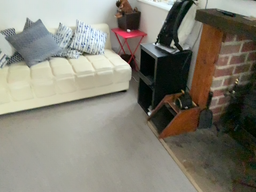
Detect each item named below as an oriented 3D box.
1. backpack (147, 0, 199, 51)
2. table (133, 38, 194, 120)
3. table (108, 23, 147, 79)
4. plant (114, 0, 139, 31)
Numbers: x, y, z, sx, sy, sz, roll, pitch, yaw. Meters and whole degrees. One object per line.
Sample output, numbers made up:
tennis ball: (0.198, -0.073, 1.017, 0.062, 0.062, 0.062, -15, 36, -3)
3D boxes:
backpack: (0.420, -0.730, 2.090, 0.280, 0.430, 0.390, -11, 34, -20)
table: (0.360, -0.200, 2.400, 0.460, 0.760, 0.420, -11, 34, -20)
table: (-0.030, -0.720, 3.310, 0.380, 0.660, 0.590, -11, 34, -20)
plant: (-0.030, -1.200, 3.060, 0.240, 0.410, 0.330, -11, 34, -19)
